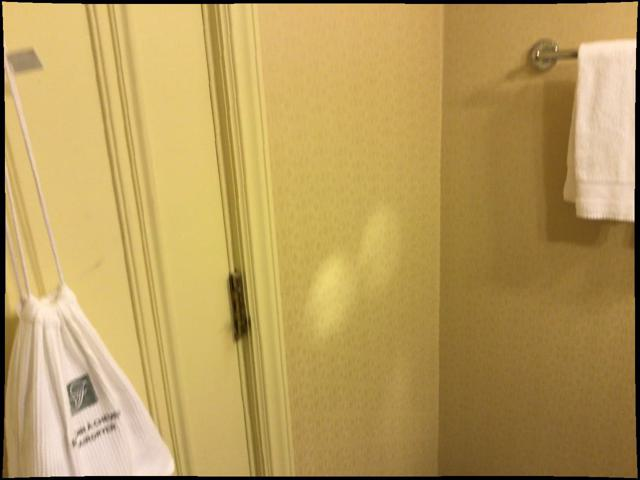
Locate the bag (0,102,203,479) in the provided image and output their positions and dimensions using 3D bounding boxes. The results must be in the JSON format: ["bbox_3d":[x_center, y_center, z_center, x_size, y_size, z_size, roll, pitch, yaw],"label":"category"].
[{"bbox_3d":[-0.280,0.120,0.660,0.100,0.520,0.220,8,21,33],"label":"bag"}]

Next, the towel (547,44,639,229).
[{"bbox_3d":[0.639,-0.230,1.280,0.220,0.380,0.110,8,21,33],"label":"towel"}]
